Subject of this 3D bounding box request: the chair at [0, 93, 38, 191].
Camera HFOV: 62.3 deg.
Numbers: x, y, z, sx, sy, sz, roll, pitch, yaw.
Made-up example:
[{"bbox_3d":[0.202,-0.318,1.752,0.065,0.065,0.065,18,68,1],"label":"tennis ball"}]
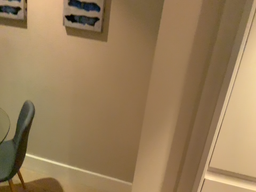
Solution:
[{"bbox_3d":[-0.970,0.460,1.520,0.530,0.870,0.400,-3,21,-31],"label":"chair"}]
